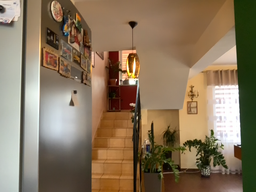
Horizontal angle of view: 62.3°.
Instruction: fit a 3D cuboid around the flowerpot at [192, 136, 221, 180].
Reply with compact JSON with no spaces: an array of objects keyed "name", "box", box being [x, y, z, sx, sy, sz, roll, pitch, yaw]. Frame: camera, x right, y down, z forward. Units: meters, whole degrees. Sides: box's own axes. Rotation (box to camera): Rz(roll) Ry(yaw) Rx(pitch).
[{"name":"flowerpot","box":[1.880,1.480,5.170,0.580,0.900,0.560,-1,-4,14]}]
